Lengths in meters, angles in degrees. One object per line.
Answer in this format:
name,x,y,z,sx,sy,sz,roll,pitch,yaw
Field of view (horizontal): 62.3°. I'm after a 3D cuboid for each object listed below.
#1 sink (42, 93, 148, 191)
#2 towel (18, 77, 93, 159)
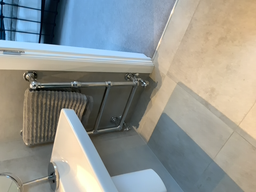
sink,-0.170,0.430,0.960,0.890,0.160,0.470,47,128,41
towel,-0.460,0.130,1.310,0.160,0.340,0.480,49,130,39
